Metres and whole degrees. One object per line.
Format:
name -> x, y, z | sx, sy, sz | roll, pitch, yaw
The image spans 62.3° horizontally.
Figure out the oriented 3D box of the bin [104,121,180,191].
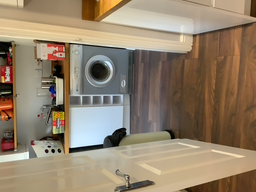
bin -> 0.130, 0.510, 1.970 | 0.280, 0.650, 0.490 | 3, 93, 63
